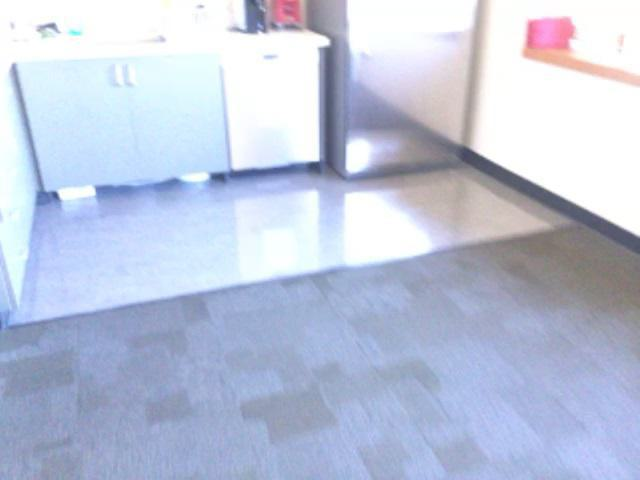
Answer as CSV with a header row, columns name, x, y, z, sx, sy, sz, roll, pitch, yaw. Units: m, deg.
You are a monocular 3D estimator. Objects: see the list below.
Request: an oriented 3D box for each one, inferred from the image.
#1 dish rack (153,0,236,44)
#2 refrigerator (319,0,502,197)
name,x,y,z,sx,sy,sz,roll,pitch,yaw
dish rack,-0.760,-1.330,3.480,0.400,0.220,0.370,-12,27,-20
refrigerator,0.510,-1.240,3.410,0.850,1.750,0.620,-12,27,-20
